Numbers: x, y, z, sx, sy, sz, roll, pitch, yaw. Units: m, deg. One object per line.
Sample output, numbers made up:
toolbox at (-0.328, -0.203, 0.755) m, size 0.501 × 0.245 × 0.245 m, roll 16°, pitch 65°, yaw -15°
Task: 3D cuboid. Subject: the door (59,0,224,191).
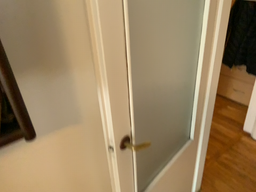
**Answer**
door at (0.160, 0.140, 0.980) m, size 0.100 × 1.800 × 0.750 m, roll 23°, pitch 39°, yaw 37°
